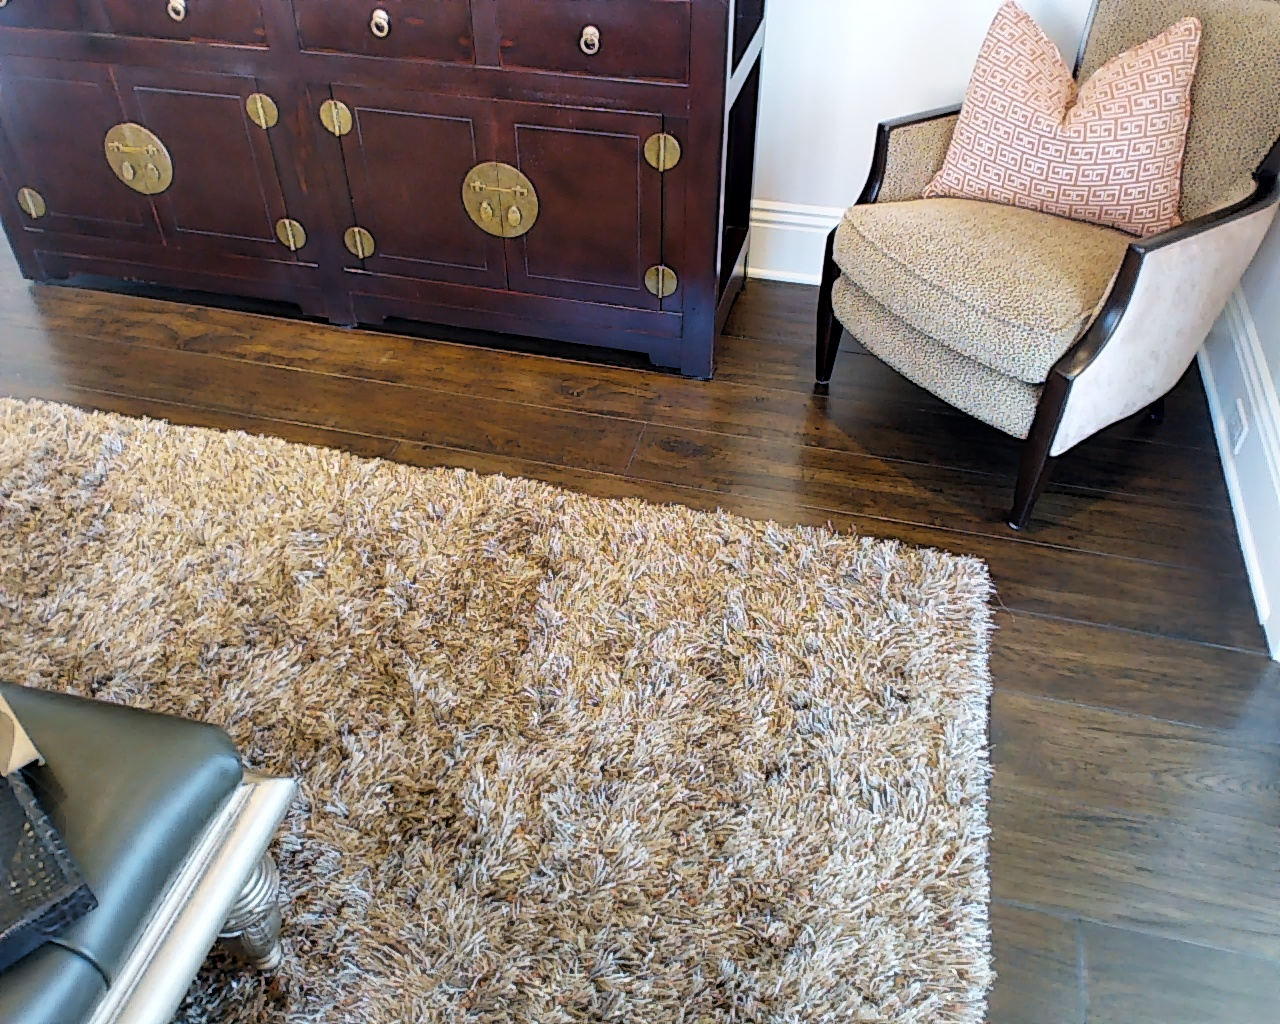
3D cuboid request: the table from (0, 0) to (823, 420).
[{"bbox_3d":[-0.670,-0.970,2.700,2.120,0.990,0.630,10,42,11],"label":"table"}]
